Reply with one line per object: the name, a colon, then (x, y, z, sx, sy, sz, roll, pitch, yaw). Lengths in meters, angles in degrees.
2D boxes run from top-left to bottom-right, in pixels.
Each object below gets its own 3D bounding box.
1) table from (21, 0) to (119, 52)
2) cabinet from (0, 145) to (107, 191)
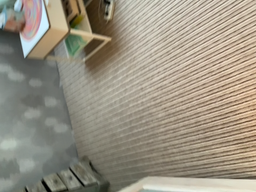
table: (-0.450, -0.670, 1.640, 0.460, 0.510, 0.460, -18, 81, 40)
cabinet: (-0.630, 0.660, 1.560, 0.290, 0.930, 0.260, 41, 118, 32)
